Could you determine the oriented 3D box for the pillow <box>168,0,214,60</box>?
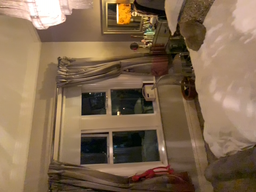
[{"bbox_3d":[0.680,-0.810,2.310,0.180,0.490,0.680,19,153,0],"label":"pillow"}]
